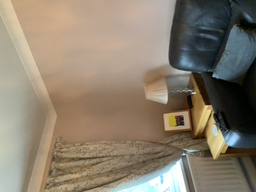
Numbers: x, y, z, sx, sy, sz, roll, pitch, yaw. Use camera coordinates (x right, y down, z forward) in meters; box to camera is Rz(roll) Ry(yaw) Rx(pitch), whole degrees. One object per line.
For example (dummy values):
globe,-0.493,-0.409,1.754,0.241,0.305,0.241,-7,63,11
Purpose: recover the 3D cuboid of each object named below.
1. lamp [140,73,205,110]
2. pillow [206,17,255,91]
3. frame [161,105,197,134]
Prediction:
lamp,0.460,-0.050,2.330,0.290,0.620,0.270,-94,3,-46
pillow,0.800,-0.310,1.640,0.500,0.170,0.270,91,177,-46
frame,0.580,0.270,2.470,0.300,0.320,0.140,-94,9,-46
